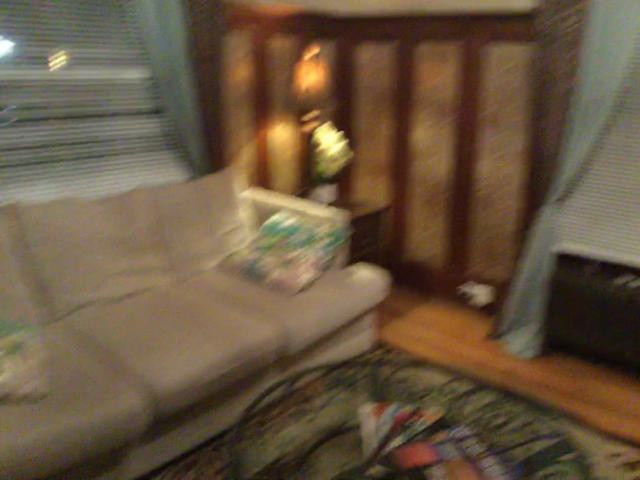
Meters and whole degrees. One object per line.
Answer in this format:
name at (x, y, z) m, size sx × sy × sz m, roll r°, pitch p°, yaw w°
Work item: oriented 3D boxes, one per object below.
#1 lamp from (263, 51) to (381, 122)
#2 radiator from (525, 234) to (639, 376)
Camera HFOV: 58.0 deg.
lamp at (0.020, -0.840, 3.200) m, size 0.420 × 0.340 × 0.510 m, roll 11°, pitch 17°, yaw 37°
radiator at (1.640, 0.350, 2.530) m, size 1.350 × 0.530 × 0.270 m, roll 11°, pitch 17°, yaw 37°
